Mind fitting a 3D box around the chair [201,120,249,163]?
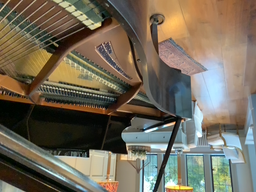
[{"bbox_3d":[2.420,1.180,5.390,0.760,0.950,0.720,6,161,-8],"label":"chair"}]
